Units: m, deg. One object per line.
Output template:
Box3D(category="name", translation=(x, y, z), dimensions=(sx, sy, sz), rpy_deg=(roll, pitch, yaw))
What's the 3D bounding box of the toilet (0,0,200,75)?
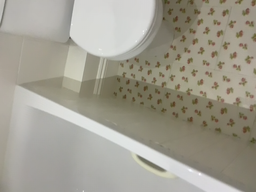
Box3D(category="toilet", translation=(-0.150, -0.370, 0.990), dimensions=(0.650, 0.770, 0.370), rpy_deg=(15, 97, 36))
